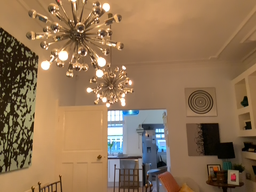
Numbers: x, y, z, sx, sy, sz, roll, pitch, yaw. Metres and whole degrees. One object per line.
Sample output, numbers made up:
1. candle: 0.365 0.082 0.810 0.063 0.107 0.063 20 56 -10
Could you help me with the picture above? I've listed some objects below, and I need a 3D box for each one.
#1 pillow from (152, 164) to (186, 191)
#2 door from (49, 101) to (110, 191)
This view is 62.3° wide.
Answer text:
1. pillow: 0.760 1.610 3.890 0.200 0.470 0.520 -42 -15 34
2. door: -0.780 1.140 3.500 0.950 2.090 0.180 -3 -11 4
